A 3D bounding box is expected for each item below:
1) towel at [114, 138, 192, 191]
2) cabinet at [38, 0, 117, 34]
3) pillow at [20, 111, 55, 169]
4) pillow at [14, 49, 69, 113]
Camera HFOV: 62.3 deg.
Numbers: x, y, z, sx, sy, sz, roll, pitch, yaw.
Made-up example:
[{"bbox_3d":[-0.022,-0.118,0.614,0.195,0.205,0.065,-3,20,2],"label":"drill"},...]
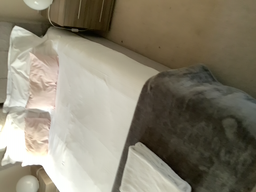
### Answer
[{"bbox_3d":[0.110,0.500,1.180,0.390,0.080,0.370,31,118,38],"label":"towel"},{"bbox_3d":[-0.460,-0.860,1.940,0.450,0.520,0.420,33,119,38],"label":"cabinet"},{"bbox_3d":[-0.930,0.440,2.170,0.130,0.290,0.520,26,115,40],"label":"pillow"},{"bbox_3d":[-0.780,-0.120,1.920,0.150,0.260,0.530,34,103,37],"label":"pillow"}]
